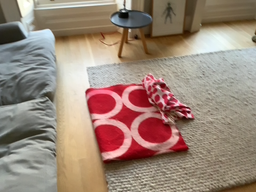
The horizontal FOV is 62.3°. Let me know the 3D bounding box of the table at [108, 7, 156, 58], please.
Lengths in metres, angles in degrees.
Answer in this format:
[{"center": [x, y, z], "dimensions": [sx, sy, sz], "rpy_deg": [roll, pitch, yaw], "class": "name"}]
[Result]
[{"center": [0.030, -0.810, 2.680], "dimensions": [0.440, 0.410, 0.450], "rpy_deg": [-14, 44, -17], "class": "table"}]
